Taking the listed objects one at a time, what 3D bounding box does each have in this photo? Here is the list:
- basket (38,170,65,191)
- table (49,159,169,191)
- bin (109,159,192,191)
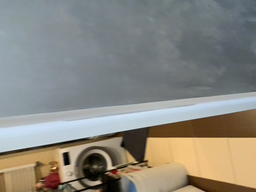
[{"bbox_3d":[-0.980,1.110,2.710,0.240,0.260,0.260,-29,69,58],"label":"basket"},{"bbox_3d":[-0.150,0.930,1.980,0.380,1.030,0.420,-21,76,59],"label":"table"},{"bbox_3d":[0.210,0.850,1.820,0.280,0.640,0.450,-16,80,60],"label":"bin"}]
